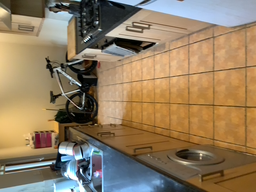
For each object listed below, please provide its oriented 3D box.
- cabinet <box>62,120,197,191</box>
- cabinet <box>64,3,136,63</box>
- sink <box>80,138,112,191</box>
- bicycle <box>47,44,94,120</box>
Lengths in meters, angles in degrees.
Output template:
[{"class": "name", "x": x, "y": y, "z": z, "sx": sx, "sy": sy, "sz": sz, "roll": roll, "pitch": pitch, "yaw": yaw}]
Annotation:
[{"class": "cabinet", "x": -0.180, "y": 0.740, "z": 2.750, "sx": 1.920, "sy": 0.940, "sz": 0.610, "roll": 0, "pitch": 90, "yaw": 61}, {"class": "cabinet", "x": -0.450, "y": -0.900, "z": 3.280, "sx": 0.760, "sy": 0.890, "sz": 0.600, "roll": 0, "pitch": 90, "yaw": 61}, {"class": "sink", "x": -0.370, "y": 0.760, "z": 2.360, "sx": 0.420, "sy": 0.220, "sz": 0.500, "roll": 0, "pitch": 90, "yaw": 61}, {"class": "bicycle", "x": -1.290, "y": -0.290, "z": 4.800, "sx": 0.310, "sy": 0.980, "sz": 1.600, "roll": 4, "pitch": 93, "yaw": 61}]
